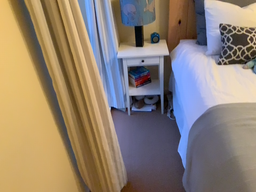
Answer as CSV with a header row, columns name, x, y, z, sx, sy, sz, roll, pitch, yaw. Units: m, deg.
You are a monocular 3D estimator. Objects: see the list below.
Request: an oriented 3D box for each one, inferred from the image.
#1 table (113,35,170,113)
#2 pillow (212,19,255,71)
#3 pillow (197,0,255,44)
name,x,y,z,sx,sy,sz,roll,pitch,yaw
table,0.160,-0.220,2.240,0.500,0.400,0.690,-3,-55,6
pillow,0.800,-0.360,1.480,0.330,0.310,0.110,-6,-19,5
pillow,0.850,-0.620,1.630,0.520,0.380,0.160,-6,-36,4
